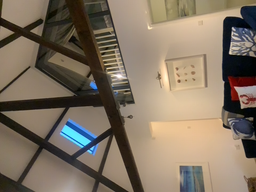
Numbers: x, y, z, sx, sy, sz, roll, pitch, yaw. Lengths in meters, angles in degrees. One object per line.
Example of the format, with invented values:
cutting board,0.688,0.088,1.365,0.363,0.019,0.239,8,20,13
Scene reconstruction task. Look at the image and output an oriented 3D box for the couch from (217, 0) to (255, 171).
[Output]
couch,1.850,-0.070,2.990,1.060,0.920,2.210,-74,-26,-52
